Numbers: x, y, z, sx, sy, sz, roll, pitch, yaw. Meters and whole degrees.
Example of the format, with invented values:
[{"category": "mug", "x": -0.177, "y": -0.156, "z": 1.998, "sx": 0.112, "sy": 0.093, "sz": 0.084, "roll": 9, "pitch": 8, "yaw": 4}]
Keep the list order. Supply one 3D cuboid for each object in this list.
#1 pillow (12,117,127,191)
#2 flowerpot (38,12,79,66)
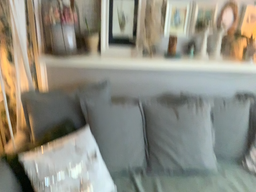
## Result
[{"category": "pillow", "x": -0.310, "y": 0.450, "z": 1.260, "sx": 0.180, "sy": 0.480, "sz": 0.480, "roll": 25, "pitch": -11, "yaw": 38}, {"category": "flowerpot", "x": -0.490, "y": -0.420, "z": 1.540, "sx": 0.210, "sy": 0.350, "sz": 0.210, "roll": 2, "pitch": 21, "yaw": -2}]
